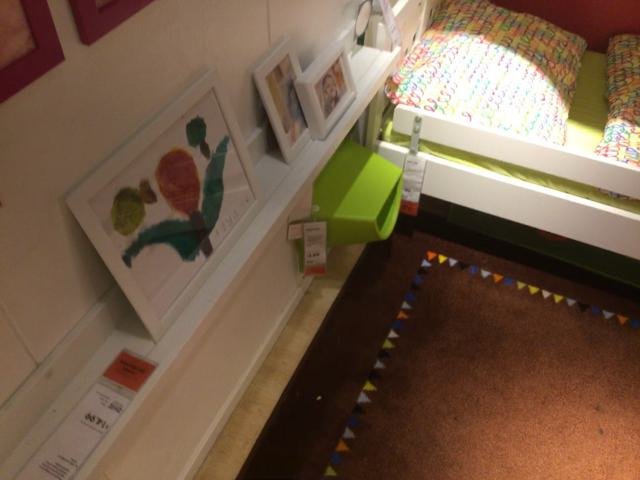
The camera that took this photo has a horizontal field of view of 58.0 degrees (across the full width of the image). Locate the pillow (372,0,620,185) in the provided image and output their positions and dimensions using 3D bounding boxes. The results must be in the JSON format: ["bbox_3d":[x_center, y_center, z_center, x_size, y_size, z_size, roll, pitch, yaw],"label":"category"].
[{"bbox_3d":[0.510,-0.490,1.610,0.440,0.180,0.750,20,48,23],"label":"pillow"}]
